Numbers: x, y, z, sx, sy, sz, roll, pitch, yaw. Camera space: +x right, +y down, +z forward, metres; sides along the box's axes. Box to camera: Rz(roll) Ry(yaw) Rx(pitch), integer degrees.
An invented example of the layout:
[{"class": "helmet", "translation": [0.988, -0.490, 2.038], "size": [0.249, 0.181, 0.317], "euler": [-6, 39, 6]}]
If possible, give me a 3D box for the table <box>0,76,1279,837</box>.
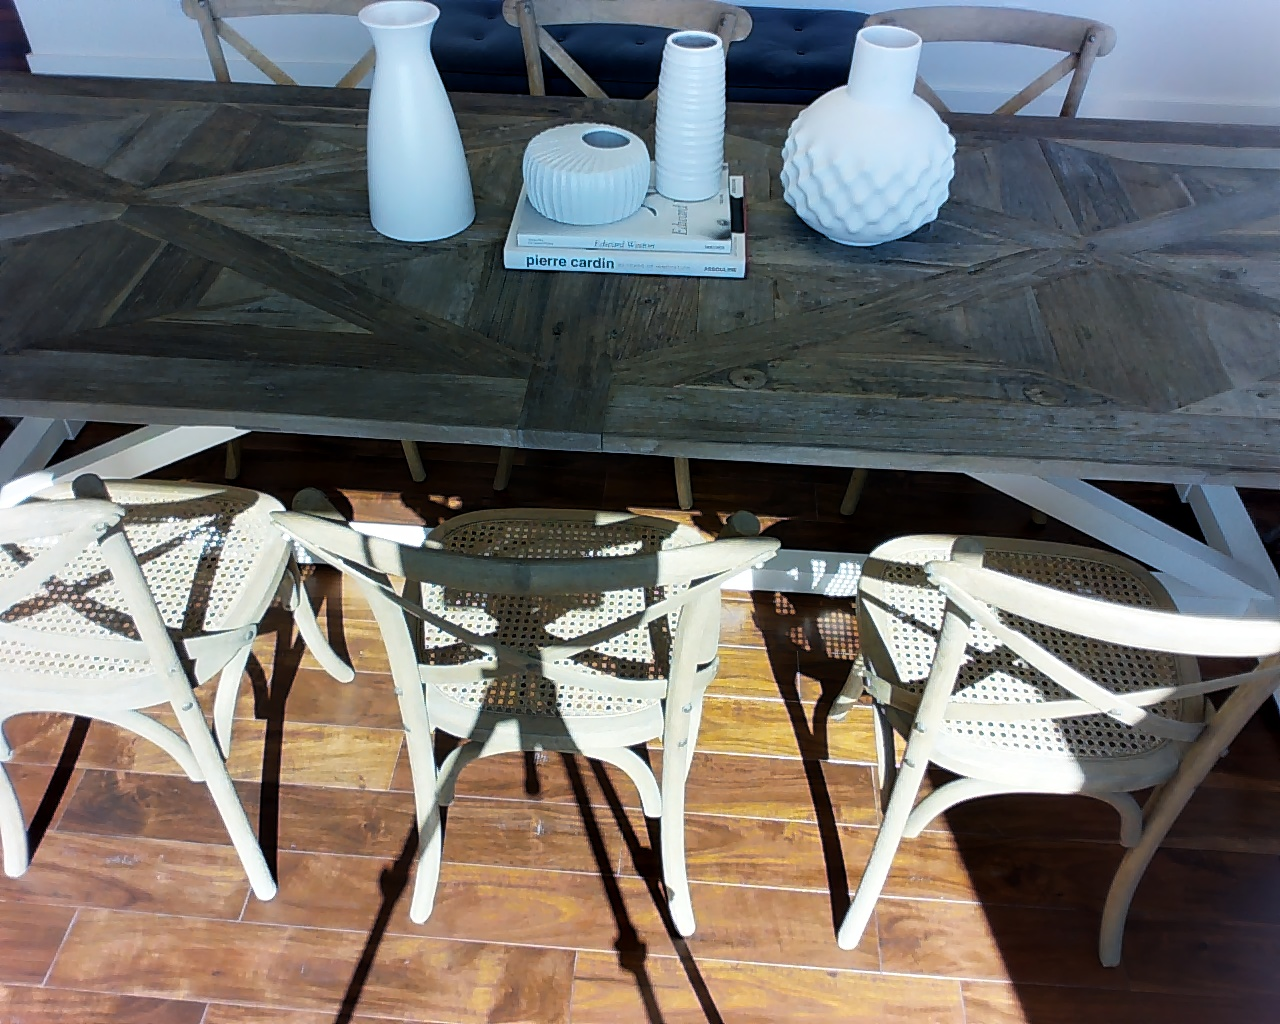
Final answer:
[{"class": "table", "translation": [-0.050, -0.150, 1.900], "size": [3.100, 0.780, 0.980], "euler": [3, 43, 3]}]
